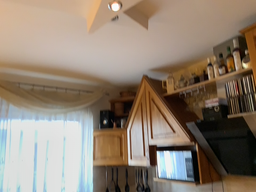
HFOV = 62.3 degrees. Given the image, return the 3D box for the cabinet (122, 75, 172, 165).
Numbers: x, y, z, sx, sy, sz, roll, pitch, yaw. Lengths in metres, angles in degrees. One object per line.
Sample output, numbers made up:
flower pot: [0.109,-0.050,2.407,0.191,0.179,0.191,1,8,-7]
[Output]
cabinet: [0.220,0.320,2.740,0.400,1.040,0.440,8,-17,-35]

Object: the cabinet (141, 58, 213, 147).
cabinet: [0.510,0.120,2.350,0.400,0.840,0.590,8,-17,-35]
